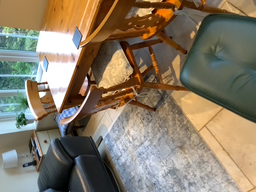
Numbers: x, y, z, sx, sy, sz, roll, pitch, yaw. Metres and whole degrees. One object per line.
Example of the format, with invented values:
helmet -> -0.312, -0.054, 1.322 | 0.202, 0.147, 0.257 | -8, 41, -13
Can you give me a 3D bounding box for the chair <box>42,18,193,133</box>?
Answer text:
chair -> -0.070, -0.120, 1.510 | 0.480, 0.840, 0.500 | -39, 64, 46
